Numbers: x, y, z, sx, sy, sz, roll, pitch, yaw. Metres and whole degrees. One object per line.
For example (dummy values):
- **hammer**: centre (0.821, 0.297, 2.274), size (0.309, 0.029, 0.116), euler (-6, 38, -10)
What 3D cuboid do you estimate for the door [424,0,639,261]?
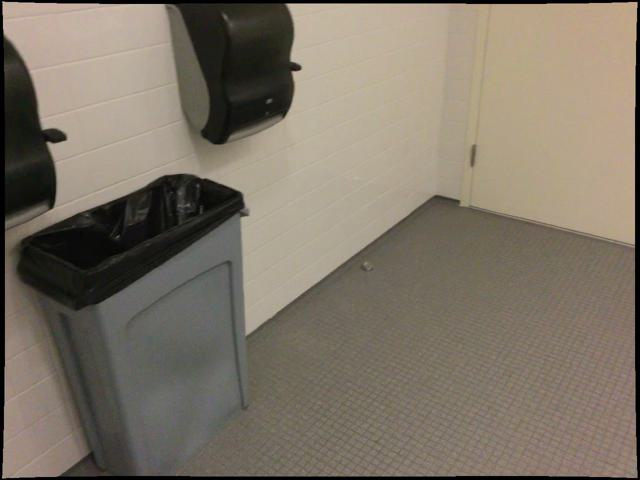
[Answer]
- **door**: centre (1.067, -0.912, 2.570), size (1.088, 1.894, 0.170), euler (20, 36, 31)
